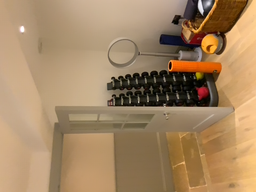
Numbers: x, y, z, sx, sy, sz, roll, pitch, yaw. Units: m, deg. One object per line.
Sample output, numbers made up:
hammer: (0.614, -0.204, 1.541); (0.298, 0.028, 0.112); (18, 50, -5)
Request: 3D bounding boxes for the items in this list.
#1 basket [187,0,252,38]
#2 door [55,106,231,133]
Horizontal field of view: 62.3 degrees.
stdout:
basket: (1.020, -1.070, 2.480); (0.560, 0.350, 0.490); (113, 155, -60)
door: (0.170, 0.310, 2.640); (0.790, 1.970, 0.040); (114, 154, -62)
